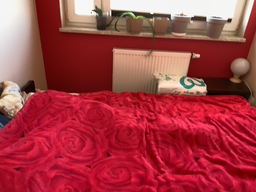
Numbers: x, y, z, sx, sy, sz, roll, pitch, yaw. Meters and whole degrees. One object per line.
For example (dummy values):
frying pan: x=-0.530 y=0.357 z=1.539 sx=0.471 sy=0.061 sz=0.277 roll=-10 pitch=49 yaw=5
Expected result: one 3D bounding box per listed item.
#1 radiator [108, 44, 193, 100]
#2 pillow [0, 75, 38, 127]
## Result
radiator: x=0.220 y=-0.250 z=2.330 sx=0.850 sy=0.560 sz=0.130 roll=3 pitch=28 yaw=-1
pillow: x=-0.820 y=0.020 z=1.470 sx=0.220 sy=0.190 sz=0.370 roll=3 pitch=28 yaw=-2
